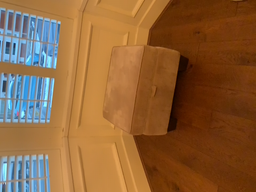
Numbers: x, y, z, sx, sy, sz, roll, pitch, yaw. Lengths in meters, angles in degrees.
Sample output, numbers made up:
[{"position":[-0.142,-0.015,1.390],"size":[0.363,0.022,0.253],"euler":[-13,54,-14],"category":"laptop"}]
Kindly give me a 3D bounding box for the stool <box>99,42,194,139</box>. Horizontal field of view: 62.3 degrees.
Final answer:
[{"position":[0.120,-0.060,1.700],"size":[0.500,0.450,0.640],"euler":[22,104,58],"category":"stool"}]
